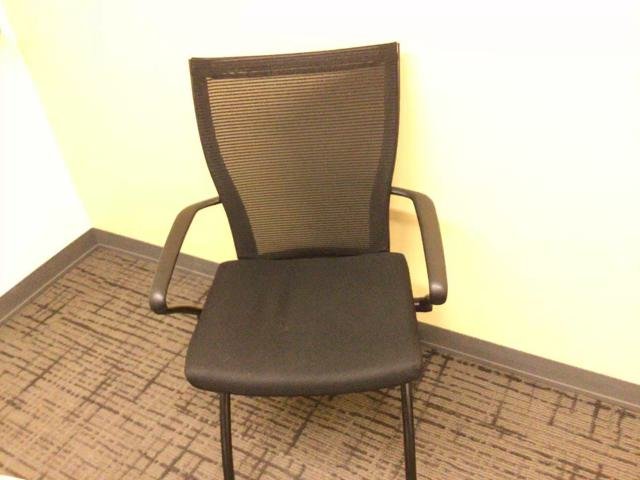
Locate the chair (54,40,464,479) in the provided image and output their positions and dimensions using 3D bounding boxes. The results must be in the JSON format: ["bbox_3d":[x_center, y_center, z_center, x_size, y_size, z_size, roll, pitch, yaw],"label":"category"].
[{"bbox_3d":[-0.030,0.120,1.300,0.600,0.930,0.540,-2,33,8],"label":"chair"}]
